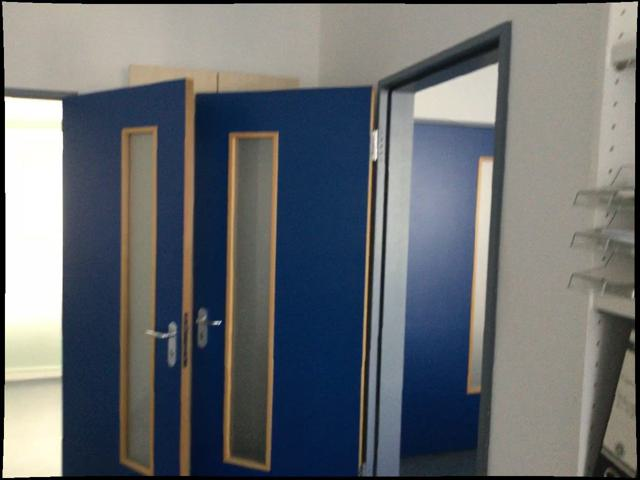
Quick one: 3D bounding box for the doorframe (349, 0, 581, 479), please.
[{"bbox_3d":[0.400,0.340,2.060,0.260,2.072,1.010,-2,8,-17],"label":"doorframe"}]
